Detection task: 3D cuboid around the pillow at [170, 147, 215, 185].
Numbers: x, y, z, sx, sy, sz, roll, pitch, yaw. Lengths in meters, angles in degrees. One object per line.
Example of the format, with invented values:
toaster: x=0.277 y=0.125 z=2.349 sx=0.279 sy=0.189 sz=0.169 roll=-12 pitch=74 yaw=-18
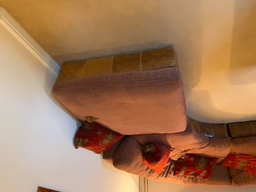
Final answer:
pillow: x=0.980 y=1.050 z=3.240 sx=0.540 sy=0.370 sz=0.180 roll=-10 pitch=143 yaw=-28
